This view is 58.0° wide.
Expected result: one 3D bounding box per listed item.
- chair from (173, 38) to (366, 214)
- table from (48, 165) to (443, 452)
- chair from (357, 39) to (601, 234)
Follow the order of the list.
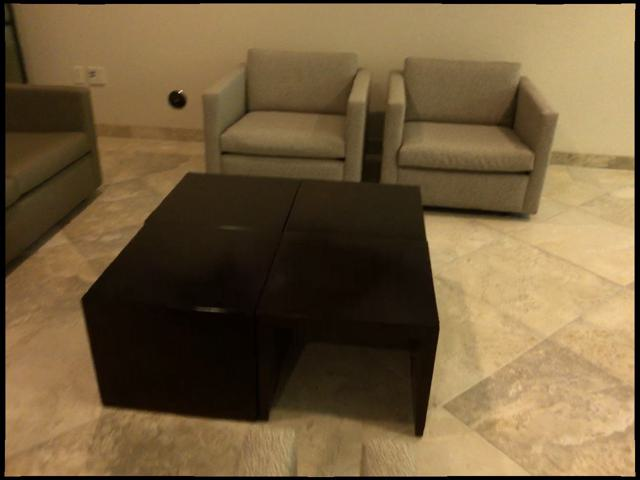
[{"bbox_3d":[-0.240,-0.711,3.400,0.948,0.711,0.900,5,29,3],"label":"chair"},{"bbox_3d":[-0.180,0.160,2.130,1.088,0.431,1.040,5,29,3],"label":"table"},{"bbox_3d":[0.818,-0.671,3.450,1.108,0.761,1.091,5,29,3],"label":"chair"}]
